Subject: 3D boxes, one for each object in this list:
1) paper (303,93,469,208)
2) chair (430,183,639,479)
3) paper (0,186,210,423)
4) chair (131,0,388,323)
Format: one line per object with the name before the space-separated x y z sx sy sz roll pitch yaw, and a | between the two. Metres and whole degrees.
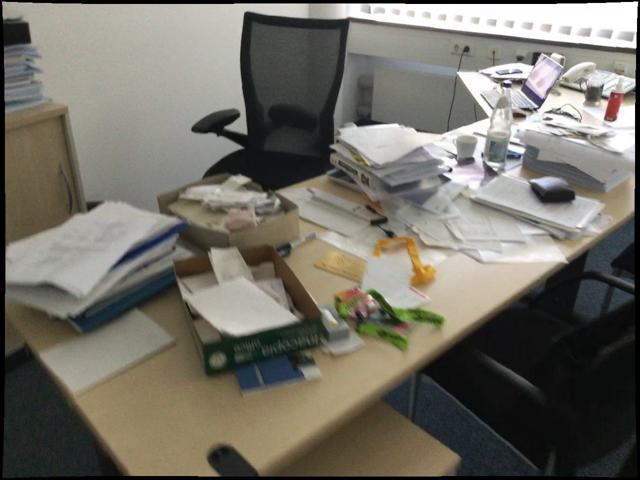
paper | 0.210 -0.300 1.830 0.380 0.180 0.370 18 35 28
chair | 0.629 0.370 1.330 0.480 0.761 0.550 24 38 35
paper | -0.509 0.130 1.370 0.280 0.350 0.370 18 35 28
chair | -0.180 -0.350 2.380 0.739 1.071 0.660 9 32 15
